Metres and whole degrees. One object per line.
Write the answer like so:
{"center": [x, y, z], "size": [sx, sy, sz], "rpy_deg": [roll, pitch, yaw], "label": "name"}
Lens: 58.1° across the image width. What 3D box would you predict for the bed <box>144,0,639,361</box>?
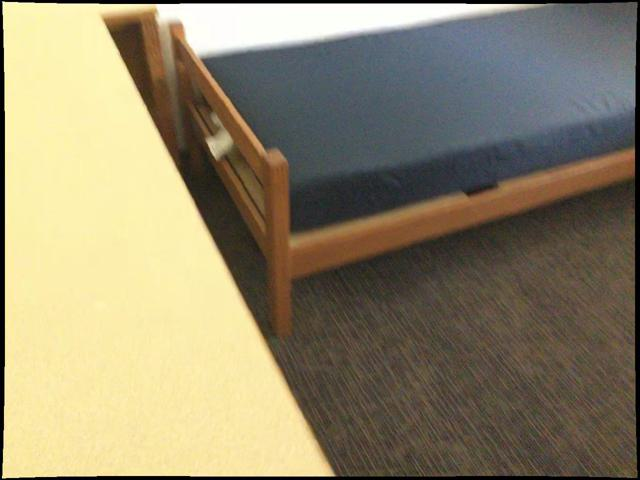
{"center": [0.668, -0.652, 2.120], "size": [2.296, 0.941, 1.090], "rpy_deg": [-18, 44, -19], "label": "bed"}
